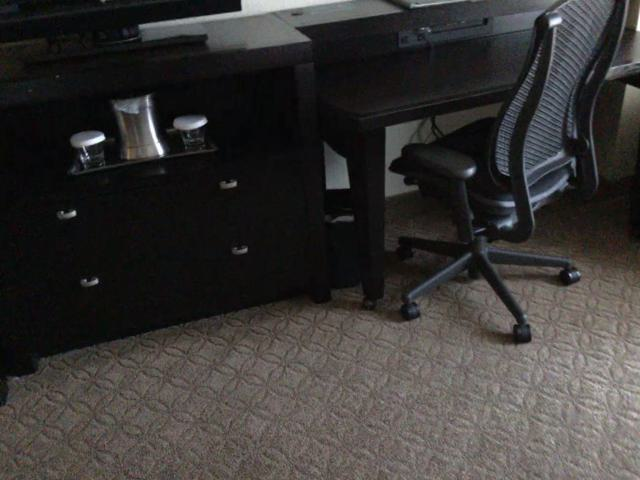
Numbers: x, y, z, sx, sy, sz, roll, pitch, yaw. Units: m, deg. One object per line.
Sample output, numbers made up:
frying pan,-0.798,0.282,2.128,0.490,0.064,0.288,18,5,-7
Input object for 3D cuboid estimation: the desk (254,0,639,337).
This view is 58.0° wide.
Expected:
desk,0.600,-0.430,2.220,1.460,1.000,0.750,-13,33,-15

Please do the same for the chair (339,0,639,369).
chair,0.530,-0.290,1.950,0.590,1.090,0.690,-25,37,-31
